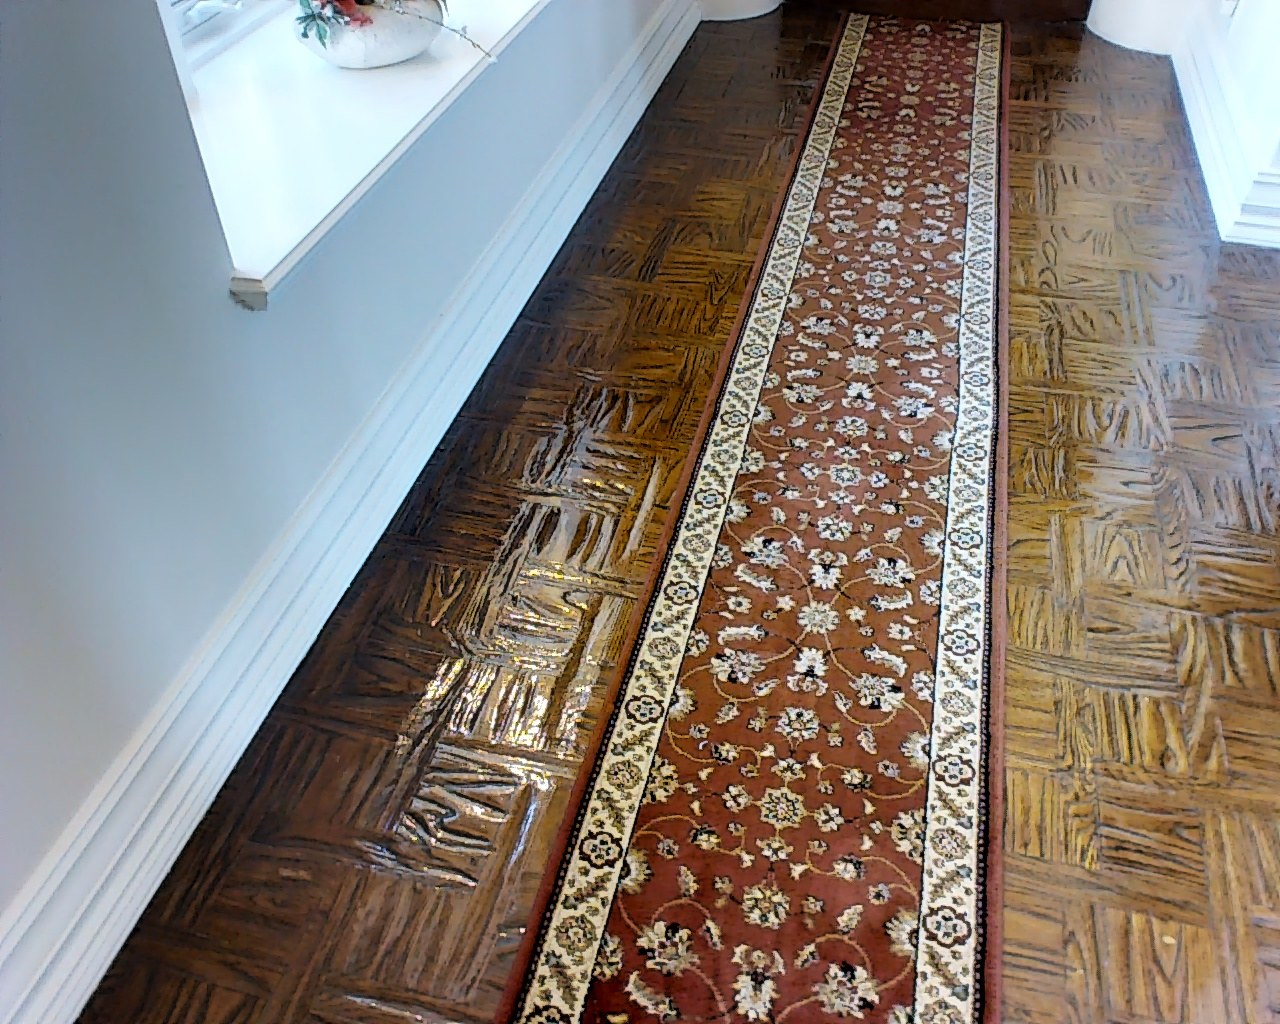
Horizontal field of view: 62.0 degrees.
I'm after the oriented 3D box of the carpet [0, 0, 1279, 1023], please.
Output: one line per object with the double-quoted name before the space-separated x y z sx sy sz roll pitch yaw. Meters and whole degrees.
"carpet" 0.200 0.750 1.120 2.090 0.320 8.720 10 43 11
